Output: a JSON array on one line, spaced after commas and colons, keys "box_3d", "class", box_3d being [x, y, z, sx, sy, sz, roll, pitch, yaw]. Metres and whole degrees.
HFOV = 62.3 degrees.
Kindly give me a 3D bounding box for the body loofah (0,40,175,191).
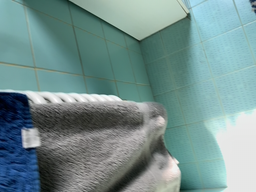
[{"box_3d": [-0.290, 0.110, 0.290, 0.190, 1.390, 0.370, -17, 80, 29], "class": "body loofah"}]
